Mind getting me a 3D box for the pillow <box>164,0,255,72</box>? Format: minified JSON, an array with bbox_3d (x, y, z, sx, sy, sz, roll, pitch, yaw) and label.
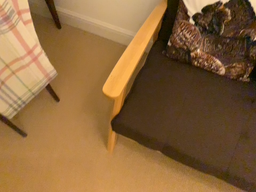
[{"bbox_3d":[0.400,-0.300,0.900,0.430,0.300,0.060,18,33,15],"label":"pillow"}]
